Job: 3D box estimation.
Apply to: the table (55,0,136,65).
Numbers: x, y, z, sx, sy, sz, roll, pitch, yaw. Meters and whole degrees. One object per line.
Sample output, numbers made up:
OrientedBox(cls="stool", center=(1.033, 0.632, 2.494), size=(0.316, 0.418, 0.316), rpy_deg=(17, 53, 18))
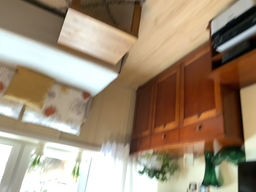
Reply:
OrientedBox(cls="table", center=(-0.270, -0.590, 1.800), size=(0.530, 0.390, 0.350), rpy_deg=(18, 155, -23))

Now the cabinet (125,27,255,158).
OrientedBox(cls="cabinet", center=(0.570, 0.120, 2.480), size=(0.460, 1.040, 1.500), rpy_deg=(18, 155, -22))

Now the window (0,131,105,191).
OrientedBox(cls="window", center=(-1.500, 1.130, 2.230), size=(2.350, 1.480, 0.190), rpy_deg=(17, 156, -20))
